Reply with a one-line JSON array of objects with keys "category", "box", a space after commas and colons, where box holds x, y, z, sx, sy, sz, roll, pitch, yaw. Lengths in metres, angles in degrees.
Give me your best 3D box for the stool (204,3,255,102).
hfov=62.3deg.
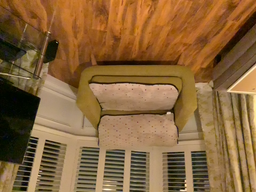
[{"category": "stool", "box": [1.210, -0.320, 1.940, 0.620, 0.410, 0.880, 6, 155, -6]}]
